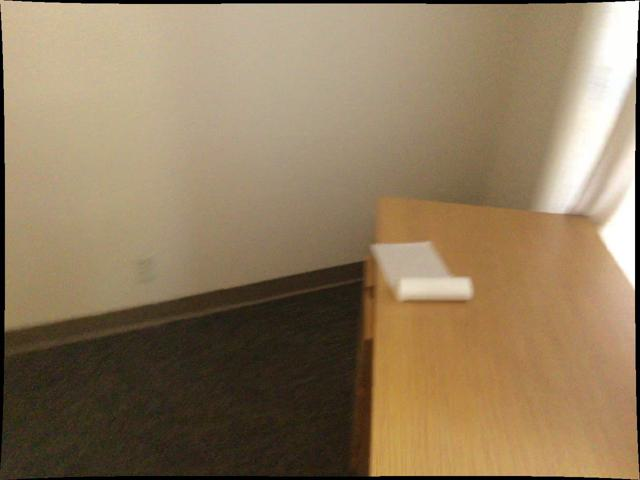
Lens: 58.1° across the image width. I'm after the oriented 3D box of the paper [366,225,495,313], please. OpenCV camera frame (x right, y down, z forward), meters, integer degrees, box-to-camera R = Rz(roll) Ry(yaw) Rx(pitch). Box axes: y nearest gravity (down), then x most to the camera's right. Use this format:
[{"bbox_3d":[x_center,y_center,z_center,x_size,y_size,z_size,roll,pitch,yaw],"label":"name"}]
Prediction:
[{"bbox_3d":[0.250,0.060,1.370,0.220,0.060,0.280,0,31,-9],"label":"paper"}]
